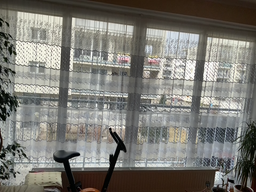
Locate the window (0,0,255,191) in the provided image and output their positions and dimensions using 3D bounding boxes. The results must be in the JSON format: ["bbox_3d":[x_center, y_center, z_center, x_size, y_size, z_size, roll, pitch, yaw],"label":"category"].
[{"bbox_3d":[0.020,0.140,2.650,3.520,2.290,0.230,4,5,-13],"label":"window"}]
